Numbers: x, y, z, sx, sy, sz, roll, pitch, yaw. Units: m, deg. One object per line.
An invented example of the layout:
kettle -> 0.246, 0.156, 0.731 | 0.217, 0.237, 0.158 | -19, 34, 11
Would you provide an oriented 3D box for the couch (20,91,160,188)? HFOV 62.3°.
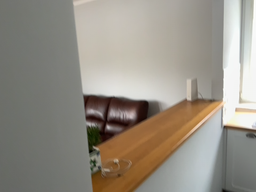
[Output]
couch -> -0.690, 0.520, 3.620 | 2.130, 0.900, 1.120 | 5, 14, 37
